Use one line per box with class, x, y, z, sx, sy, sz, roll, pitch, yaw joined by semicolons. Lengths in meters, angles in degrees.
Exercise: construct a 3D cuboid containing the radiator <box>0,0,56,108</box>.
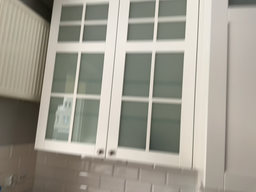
radiator;-0.770;-0.280;1.380;0.210;0.660;0.610;3;-7;13
